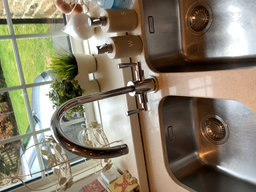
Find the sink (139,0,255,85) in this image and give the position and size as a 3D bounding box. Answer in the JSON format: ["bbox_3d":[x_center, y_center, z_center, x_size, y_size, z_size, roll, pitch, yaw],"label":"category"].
[{"bbox_3d":[0.260,-0.250,0.610,0.460,0.200,0.400,3,104,56],"label":"sink"}]

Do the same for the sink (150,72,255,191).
[{"bbox_3d":[0.310,0.140,0.660,0.460,0.180,0.400,3,104,56],"label":"sink"}]
